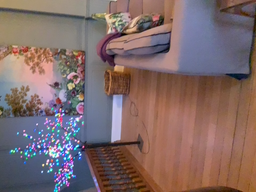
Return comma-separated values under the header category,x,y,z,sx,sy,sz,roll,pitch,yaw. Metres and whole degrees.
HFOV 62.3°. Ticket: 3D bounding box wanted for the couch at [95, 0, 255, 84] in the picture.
category,x,y,z,sx,sy,sz,roll,pitch,yaw
couch,0.220,-0.840,2.570,2.350,0.770,1.070,-150,62,-68
